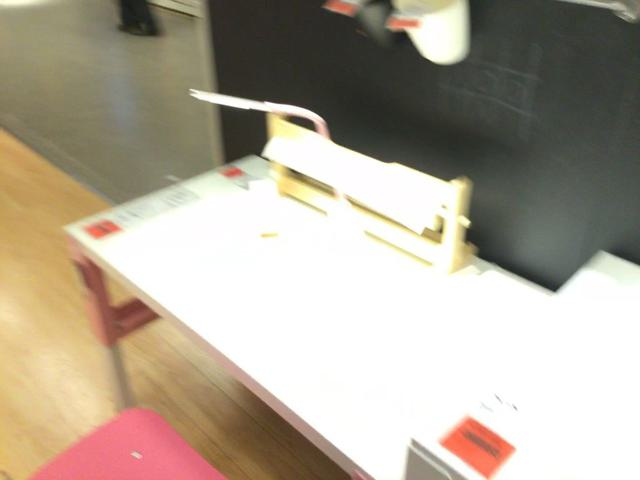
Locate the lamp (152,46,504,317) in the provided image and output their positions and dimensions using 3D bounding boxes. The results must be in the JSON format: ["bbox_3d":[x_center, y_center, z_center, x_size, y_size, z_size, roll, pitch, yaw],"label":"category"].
[{"bbox_3d":[-0.030,-0.190,1.300,0.340,0.300,0.730,-22,40,-38],"label":"lamp"}]

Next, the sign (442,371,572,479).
[{"bbox_3d":[0.240,0.230,0.730,0.190,0.010,0.070,-22,40,-38],"label":"sign"}]
